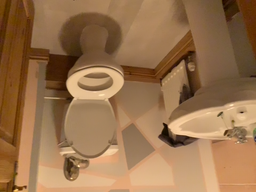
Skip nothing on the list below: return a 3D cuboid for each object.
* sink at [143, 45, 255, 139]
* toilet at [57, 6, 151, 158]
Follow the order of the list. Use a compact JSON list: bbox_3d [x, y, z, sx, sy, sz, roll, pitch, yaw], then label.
[{"bbox_3d":[0.420,0.050,1.000,0.490,0.200,0.600,4,158,-19],"label":"sink"},{"bbox_3d":[-0.230,-0.020,1.500,0.470,0.810,0.700,3,159,-17],"label":"toilet"}]
